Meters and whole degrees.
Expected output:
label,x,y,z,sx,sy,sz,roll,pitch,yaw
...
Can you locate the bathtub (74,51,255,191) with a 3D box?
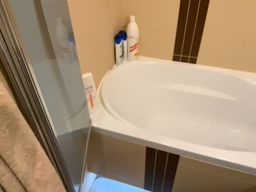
label,x,y,z,sx,sy,sz,roll,pitch,yaw
bathtub,0.520,0.270,1.260,1.390,0.630,0.670,11,42,14
